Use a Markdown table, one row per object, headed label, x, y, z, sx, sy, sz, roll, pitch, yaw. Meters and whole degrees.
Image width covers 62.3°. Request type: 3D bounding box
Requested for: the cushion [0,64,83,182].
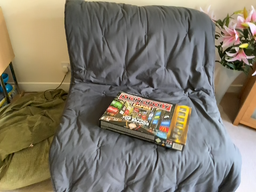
| label | x | y | z | sx | sy | sz | roll | pitch | yaw |
| --- | --- | --- | --- | --- | --- | --- | --- | --- | --- |
| cushion | -0.690 | 0.130 | 1.520 | 0.630 | 0.290 | 0.870 | 1 | 38 | -6 |
